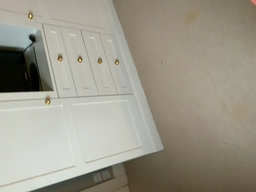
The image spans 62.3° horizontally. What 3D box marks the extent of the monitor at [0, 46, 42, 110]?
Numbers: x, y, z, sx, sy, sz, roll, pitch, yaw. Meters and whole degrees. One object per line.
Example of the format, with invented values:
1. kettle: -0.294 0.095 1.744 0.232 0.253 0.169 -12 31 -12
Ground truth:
1. monitor: -0.860 -0.140 1.540 0.040 0.350 0.490 -35 67 45
